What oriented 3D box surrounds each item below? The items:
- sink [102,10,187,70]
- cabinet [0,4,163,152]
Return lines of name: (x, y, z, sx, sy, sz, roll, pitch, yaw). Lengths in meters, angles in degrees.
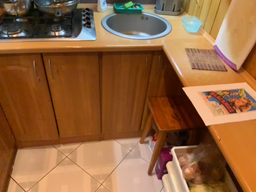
sink: (0.070, -0.390, 1.400, 0.450, 0.180, 0.490, -3, 41, -9)
cabinet: (-0.330, -0.130, 1.560, 0.900, 0.840, 0.600, -3, 41, -9)
